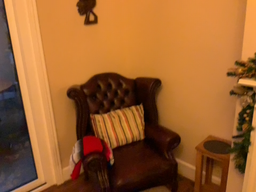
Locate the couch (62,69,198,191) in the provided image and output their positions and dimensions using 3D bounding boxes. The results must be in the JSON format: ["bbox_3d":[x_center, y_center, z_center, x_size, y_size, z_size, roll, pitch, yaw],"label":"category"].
[{"bbox_3d":[-0.040,0.390,2.040,0.890,1.080,0.960,-10,19,-23],"label":"couch"}]

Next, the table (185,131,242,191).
[{"bbox_3d":[0.740,0.670,1.870,0.340,0.590,0.280,14,24,43],"label":"table"}]
